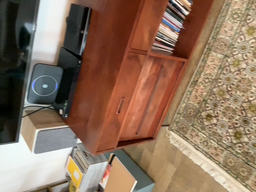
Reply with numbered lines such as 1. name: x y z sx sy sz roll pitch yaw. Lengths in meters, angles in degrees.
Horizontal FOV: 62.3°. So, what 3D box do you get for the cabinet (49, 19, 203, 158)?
1. cabinet: -0.020 -0.070 1.360 0.530 0.680 0.560 36 116 39
